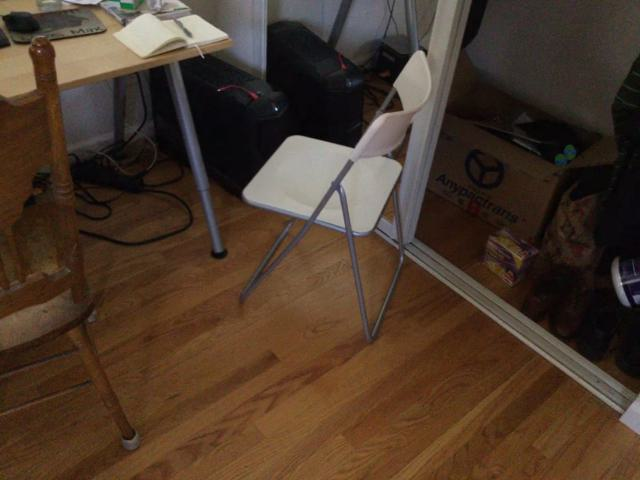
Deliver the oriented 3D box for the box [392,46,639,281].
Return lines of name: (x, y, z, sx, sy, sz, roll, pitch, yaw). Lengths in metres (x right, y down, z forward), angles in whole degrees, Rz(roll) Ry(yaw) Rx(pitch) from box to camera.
box: (0.710, -0.320, 2.180, 0.280, 0.510, 0.840, -26, 48, -33)

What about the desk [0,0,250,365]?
desk: (-1.110, -0.200, 1.580, 1.650, 0.840, 0.830, -26, 48, -33)
